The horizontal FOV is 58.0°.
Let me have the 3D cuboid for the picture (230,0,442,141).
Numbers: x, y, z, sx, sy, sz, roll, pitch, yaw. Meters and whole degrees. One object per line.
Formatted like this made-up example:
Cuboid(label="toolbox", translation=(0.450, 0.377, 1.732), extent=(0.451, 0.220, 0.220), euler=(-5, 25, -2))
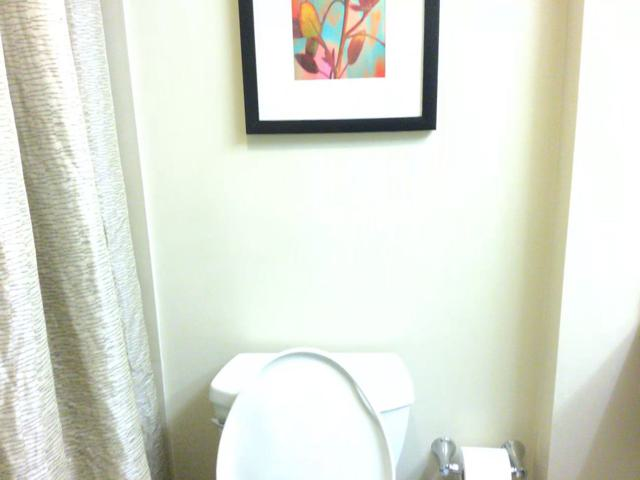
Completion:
Cuboid(label="picture", translation=(0.030, -0.480, 1.170), extent=(0.420, 0.530, 0.040), euler=(-2, 14, 7))
